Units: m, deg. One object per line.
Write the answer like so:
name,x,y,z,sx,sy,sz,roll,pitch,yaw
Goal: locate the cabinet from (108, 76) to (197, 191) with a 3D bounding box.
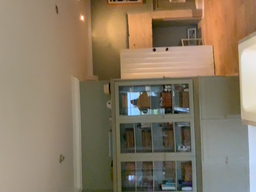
cabinet,0.360,0.630,3.330,0.400,1.250,1.800,29,-121,-89
